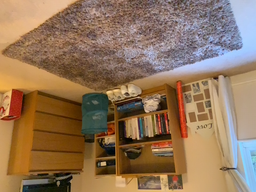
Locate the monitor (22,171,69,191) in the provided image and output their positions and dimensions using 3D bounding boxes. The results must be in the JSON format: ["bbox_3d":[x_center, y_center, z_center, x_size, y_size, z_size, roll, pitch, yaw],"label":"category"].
[{"bbox_3d":[-1.010,1.230,2.630,0.040,0.530,0.610,-15,158,34],"label":"monitor"}]
